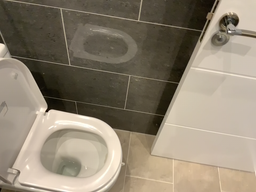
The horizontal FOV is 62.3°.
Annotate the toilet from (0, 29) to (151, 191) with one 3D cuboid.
[{"bbox_3d":[-0.300,0.210,0.950,0.610,0.840,0.370,12,52,1],"label":"toilet"}]
